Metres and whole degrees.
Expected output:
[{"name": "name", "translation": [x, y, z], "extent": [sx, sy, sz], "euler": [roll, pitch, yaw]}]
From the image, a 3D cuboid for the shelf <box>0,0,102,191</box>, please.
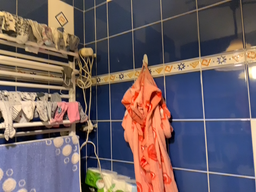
[{"name": "shelf", "translation": [-0.460, 0.150, 1.150], "extent": [0.210, 1.100, 0.670], "euler": [-6, -6, 35]}]
